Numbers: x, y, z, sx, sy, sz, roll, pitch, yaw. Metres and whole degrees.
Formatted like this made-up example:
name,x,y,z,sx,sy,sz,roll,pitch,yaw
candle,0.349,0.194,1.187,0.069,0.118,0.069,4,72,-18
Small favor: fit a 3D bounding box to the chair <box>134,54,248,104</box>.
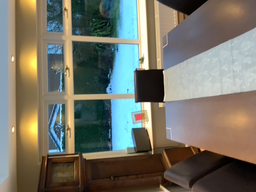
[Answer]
name,x,y,z,sx,sy,sz,roll,pitch,yaw
chair,0.600,-0.140,2.170,0.560,0.950,0.380,159,110,-74
